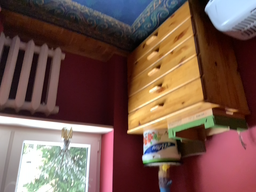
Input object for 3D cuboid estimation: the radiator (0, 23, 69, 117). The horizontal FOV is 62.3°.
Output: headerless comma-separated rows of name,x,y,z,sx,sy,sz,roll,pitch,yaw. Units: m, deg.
radiator,-0.780,-0.190,1.690,0.510,0.620,0.200,11,155,-27
